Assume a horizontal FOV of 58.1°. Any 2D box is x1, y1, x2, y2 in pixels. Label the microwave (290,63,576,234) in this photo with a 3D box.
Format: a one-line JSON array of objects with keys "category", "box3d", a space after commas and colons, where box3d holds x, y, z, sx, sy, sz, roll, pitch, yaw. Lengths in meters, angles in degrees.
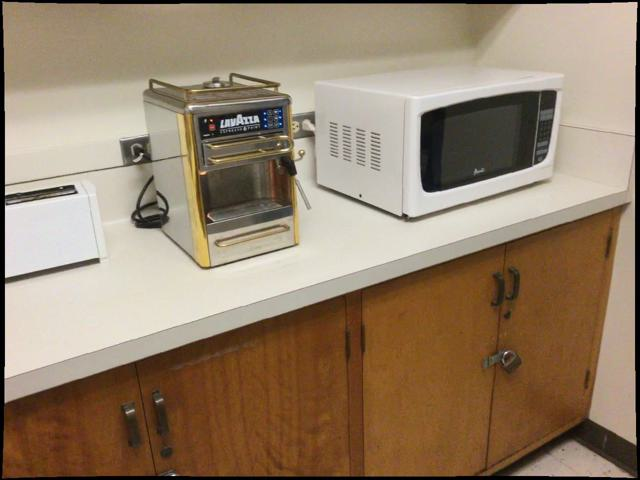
[{"category": "microwave", "box3d": [0.319, -0.311, 1.690, 0.629, 0.311, 0.490, -17, 26, -27]}]
